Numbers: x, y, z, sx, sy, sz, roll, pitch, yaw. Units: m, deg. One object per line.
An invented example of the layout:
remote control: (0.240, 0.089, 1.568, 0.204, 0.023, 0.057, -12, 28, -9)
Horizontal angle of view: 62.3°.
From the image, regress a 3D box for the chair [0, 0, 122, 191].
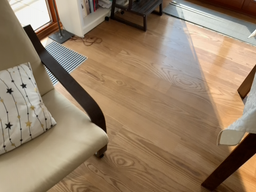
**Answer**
chair: (-0.540, 0.060, 0.940, 0.670, 0.970, 0.770, -34, 59, -27)
